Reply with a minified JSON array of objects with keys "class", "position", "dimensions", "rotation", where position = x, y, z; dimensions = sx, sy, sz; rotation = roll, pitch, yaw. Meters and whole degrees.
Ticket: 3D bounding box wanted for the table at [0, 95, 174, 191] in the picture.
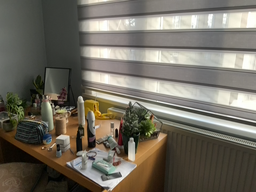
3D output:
[{"class":"table","position":[-0.480,0.540,1.700],"dimensions":[1.430,0.720,0.740],"rotation":[12,19,35]}]
